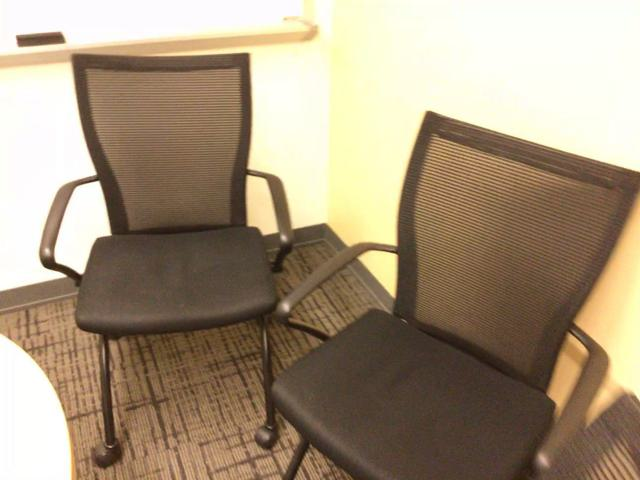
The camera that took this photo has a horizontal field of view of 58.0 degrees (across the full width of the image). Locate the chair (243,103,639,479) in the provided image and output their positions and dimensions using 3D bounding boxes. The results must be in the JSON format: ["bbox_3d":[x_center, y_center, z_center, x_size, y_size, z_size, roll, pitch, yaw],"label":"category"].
[{"bbox_3d":[0.270,0.270,1.200,0.600,0.860,0.580,25,38,31],"label":"chair"}]
